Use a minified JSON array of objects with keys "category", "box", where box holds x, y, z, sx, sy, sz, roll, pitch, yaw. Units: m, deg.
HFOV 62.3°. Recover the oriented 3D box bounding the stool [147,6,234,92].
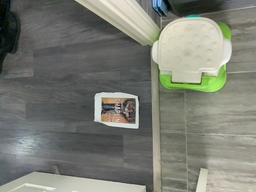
[{"category":"stool","box":[0.290,-0.200,1.000,0.340,0.200,0.340,4,93,22]}]
